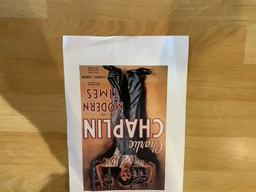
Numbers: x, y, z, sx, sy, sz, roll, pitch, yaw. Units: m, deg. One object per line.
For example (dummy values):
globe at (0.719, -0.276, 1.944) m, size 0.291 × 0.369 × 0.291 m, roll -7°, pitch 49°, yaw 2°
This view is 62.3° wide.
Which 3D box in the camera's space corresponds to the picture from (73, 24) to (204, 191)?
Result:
picture at (0.010, 0.040, 0.370) m, size 0.200 × 0.030 × 0.300 m, roll 3°, pitch 100°, yaw -1°
